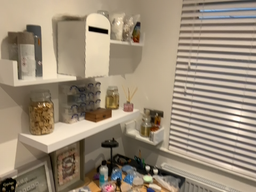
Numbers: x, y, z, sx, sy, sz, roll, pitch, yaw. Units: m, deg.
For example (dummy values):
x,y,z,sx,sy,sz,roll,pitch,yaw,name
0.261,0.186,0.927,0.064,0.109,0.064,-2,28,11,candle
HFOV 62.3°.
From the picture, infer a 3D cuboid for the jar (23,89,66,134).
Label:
x,y,z,sx,sy,sz,roll,pitch,yaw,name
-0.420,0.070,1.080,0.130,0.180,0.150,9,14,25,jar
